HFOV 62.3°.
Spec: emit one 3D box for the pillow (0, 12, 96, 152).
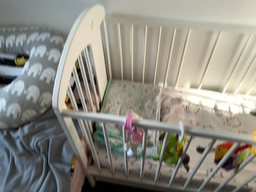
[{"bbox_3d":[-0.820,-0.160,1.170,1.110,0.280,0.680,8,51,7],"label":"pillow"}]
